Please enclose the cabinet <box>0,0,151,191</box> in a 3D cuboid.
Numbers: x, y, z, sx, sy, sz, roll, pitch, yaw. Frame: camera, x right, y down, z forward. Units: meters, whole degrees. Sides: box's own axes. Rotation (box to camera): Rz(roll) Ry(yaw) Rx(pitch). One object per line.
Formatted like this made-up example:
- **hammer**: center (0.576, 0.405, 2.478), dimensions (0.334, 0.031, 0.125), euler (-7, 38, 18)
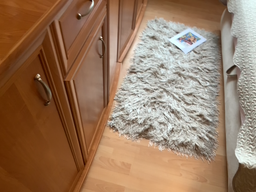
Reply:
- **cabinet**: center (-0.220, -0.590, 1.290), dimensions (0.530, 0.990, 2.470), euler (15, 54, 4)
